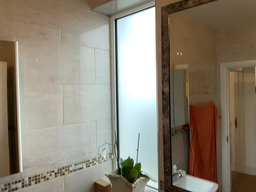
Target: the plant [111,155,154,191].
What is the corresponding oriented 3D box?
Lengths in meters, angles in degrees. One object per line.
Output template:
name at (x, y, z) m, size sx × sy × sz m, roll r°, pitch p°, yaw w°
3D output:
plant at (0.030, 0.540, 1.380) m, size 0.220 × 0.230 × 0.170 m, roll -2°, pitch 2°, yaw -43°
